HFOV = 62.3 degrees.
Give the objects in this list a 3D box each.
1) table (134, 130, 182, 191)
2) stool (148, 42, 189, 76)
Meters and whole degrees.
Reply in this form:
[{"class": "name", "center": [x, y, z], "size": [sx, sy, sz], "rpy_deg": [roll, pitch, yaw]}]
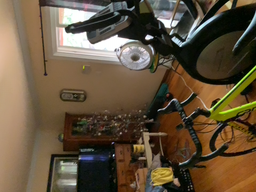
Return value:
[{"class": "table", "center": [0.470, 1.220, 3.740], "size": [0.670, 0.460, 1.020], "rpy_deg": [109, 159, -49]}, {"class": "stool", "center": [0.630, -0.580, 3.370], "size": [0.400, 0.480, 0.290], "rpy_deg": [108, 160, -48]}]
